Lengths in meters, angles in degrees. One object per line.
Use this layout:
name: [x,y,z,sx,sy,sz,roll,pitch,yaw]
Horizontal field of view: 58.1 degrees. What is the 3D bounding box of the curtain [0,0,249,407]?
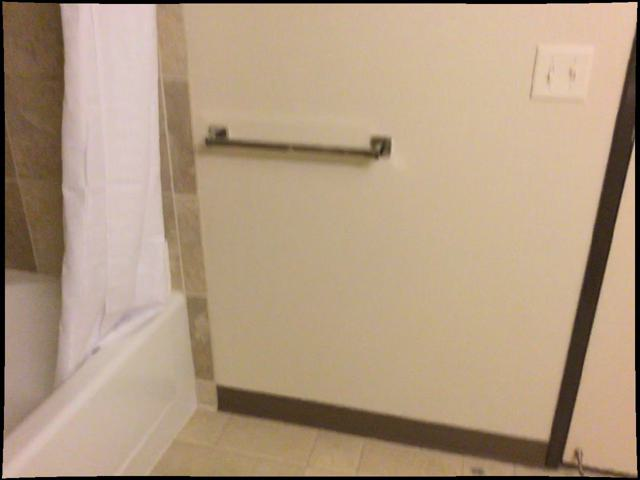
curtain: [-0.479,-0.491,1.300,0.259,1.814,0.430,1,25,14]
